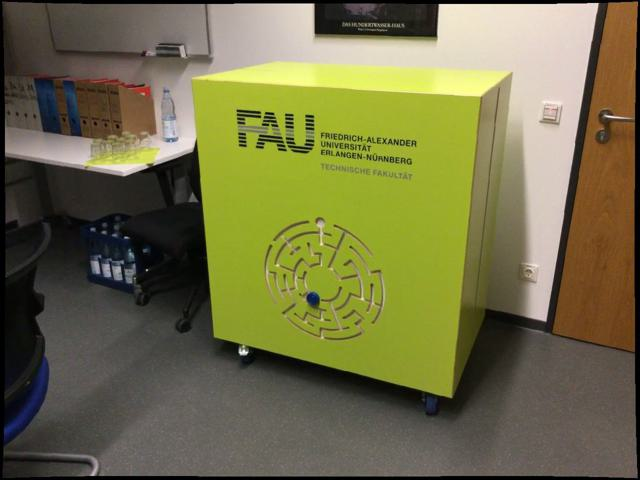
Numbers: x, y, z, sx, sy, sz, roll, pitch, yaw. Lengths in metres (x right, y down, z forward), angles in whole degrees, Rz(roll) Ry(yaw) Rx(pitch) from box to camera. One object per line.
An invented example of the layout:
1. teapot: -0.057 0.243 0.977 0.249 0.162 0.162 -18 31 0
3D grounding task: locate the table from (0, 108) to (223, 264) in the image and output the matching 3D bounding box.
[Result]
1. table: -1.419 -0.380 3.360 1.519 0.540 0.700 10 26 24
